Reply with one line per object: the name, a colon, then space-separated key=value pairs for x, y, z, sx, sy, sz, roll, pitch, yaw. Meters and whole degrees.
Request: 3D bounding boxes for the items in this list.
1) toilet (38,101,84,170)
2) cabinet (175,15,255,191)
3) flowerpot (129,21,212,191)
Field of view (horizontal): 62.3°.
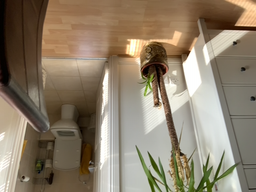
toilet: x=-0.910 y=0.590 z=3.060 sx=0.420 sy=0.820 sz=0.670 roll=0 pitch=154 yaw=-4
cabinet: x=1.020 y=0.070 z=1.630 sx=1.020 sy=1.290 sz=0.530 roll=0 pitch=154 yaw=-5
flowerpot: x=0.250 y=0.090 z=1.640 sx=0.400 sy=1.430 sz=0.360 roll=0 pitch=154 yaw=-5
